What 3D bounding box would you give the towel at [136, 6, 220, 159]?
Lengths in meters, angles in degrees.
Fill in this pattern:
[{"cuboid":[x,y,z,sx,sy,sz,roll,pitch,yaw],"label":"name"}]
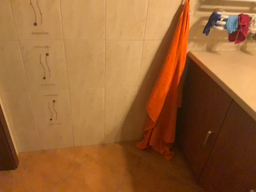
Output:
[{"cuboid":[0.300,-0.010,1.580,0.320,1.190,0.190,-3,35,-12],"label":"towel"}]
